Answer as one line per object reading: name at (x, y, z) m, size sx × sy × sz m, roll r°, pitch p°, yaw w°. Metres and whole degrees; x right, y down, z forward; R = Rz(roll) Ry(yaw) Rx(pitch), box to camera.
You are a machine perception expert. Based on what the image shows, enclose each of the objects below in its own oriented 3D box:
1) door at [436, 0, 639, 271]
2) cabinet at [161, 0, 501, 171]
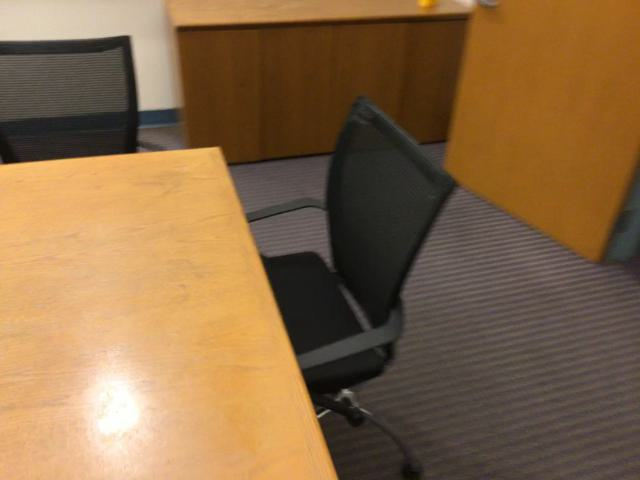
door at (0.910, -0.930, 2.130) m, size 0.100 × 1.940 × 0.990 m, roll -18°, pitch 40°, yaw -25°
cabinet at (0.020, -0.940, 3.070) m, size 1.580 × 0.820 × 0.580 m, roll -7°, pitch 38°, yaw -12°
